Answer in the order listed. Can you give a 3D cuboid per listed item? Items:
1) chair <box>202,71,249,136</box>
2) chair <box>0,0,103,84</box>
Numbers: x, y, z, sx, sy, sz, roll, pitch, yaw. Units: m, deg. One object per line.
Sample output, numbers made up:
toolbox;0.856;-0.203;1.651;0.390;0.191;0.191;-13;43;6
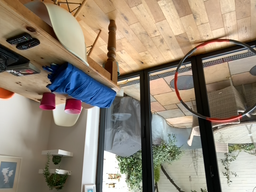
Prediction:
chair;1.630;0.150;3.560;0.500;0.900;0.500;-13;155;30
chair;-0.530;-0.570;1.570;0.540;0.780;0.380;-12;155;28
